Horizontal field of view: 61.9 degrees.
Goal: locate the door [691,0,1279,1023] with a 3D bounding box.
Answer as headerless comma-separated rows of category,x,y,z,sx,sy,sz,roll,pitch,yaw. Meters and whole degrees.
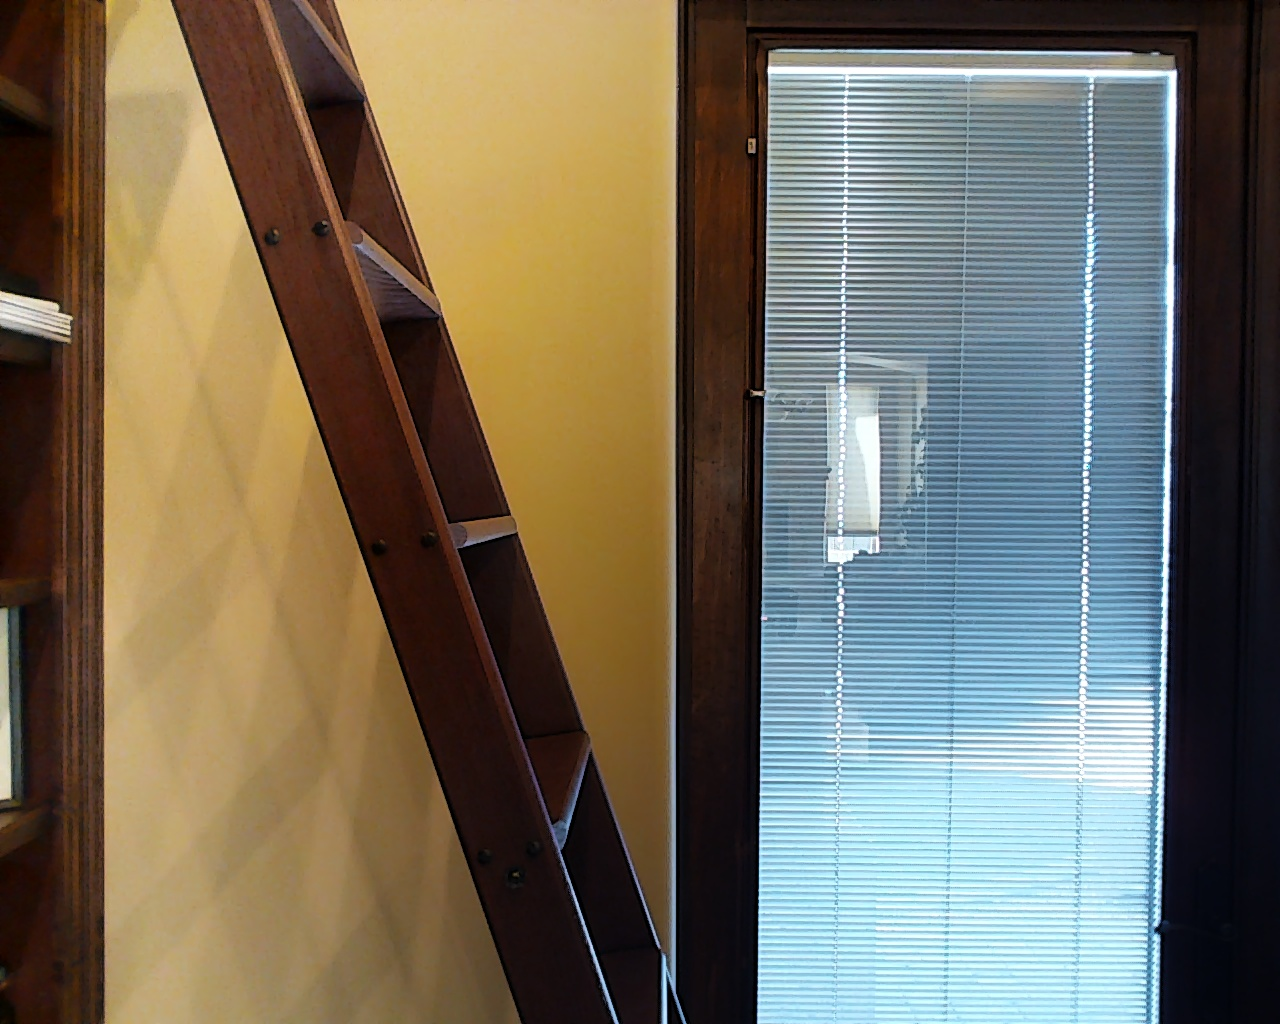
door,1.010,0.310,1.670,1.850,2.290,0.160,0,2,1
